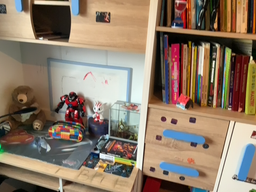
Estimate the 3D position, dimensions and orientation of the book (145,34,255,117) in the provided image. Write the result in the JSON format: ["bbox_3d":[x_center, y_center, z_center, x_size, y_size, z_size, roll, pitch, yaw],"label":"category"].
[{"bbox_3d":[0.490,-0.120,1.070,0.730,0.300,0.310,9,21,15],"label":"book"}]
